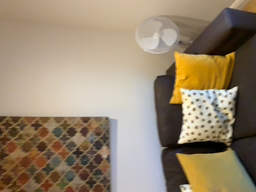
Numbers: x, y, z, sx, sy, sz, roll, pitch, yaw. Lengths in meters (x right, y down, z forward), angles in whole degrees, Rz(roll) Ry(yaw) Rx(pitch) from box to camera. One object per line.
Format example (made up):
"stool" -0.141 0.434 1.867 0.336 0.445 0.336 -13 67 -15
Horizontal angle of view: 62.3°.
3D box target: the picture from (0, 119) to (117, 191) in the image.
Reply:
"picture" -0.560 0.600 1.620 0.050 0.940 0.850 128 141 -63

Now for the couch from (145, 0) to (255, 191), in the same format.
"couch" 0.800 0.310 1.630 1.020 0.880 1.670 129 140 -64
